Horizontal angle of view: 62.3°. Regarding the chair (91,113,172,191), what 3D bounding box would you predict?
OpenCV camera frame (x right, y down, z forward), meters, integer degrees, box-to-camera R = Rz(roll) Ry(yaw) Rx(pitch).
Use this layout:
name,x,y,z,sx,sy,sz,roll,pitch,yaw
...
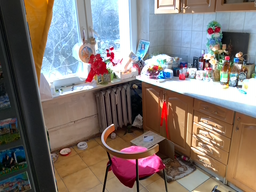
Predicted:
name,x,y,z,sx,sy,sz,roll,pitch,yaw
chair,0.030,0.590,1.780,0.440,0.690,0.460,-17,26,-35
